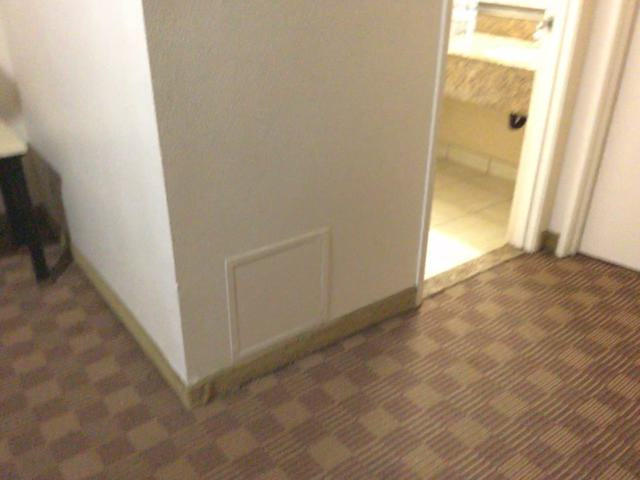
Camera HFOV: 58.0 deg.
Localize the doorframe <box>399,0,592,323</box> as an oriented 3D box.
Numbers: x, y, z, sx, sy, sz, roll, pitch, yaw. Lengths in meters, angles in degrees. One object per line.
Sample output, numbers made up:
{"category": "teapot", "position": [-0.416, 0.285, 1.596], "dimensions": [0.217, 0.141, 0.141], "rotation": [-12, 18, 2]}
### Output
{"category": "doorframe", "position": [0.660, -0.690, 2.060], "dimensions": [0.850, 1.950, 0.130], "rotation": [-23, 35, -32]}
